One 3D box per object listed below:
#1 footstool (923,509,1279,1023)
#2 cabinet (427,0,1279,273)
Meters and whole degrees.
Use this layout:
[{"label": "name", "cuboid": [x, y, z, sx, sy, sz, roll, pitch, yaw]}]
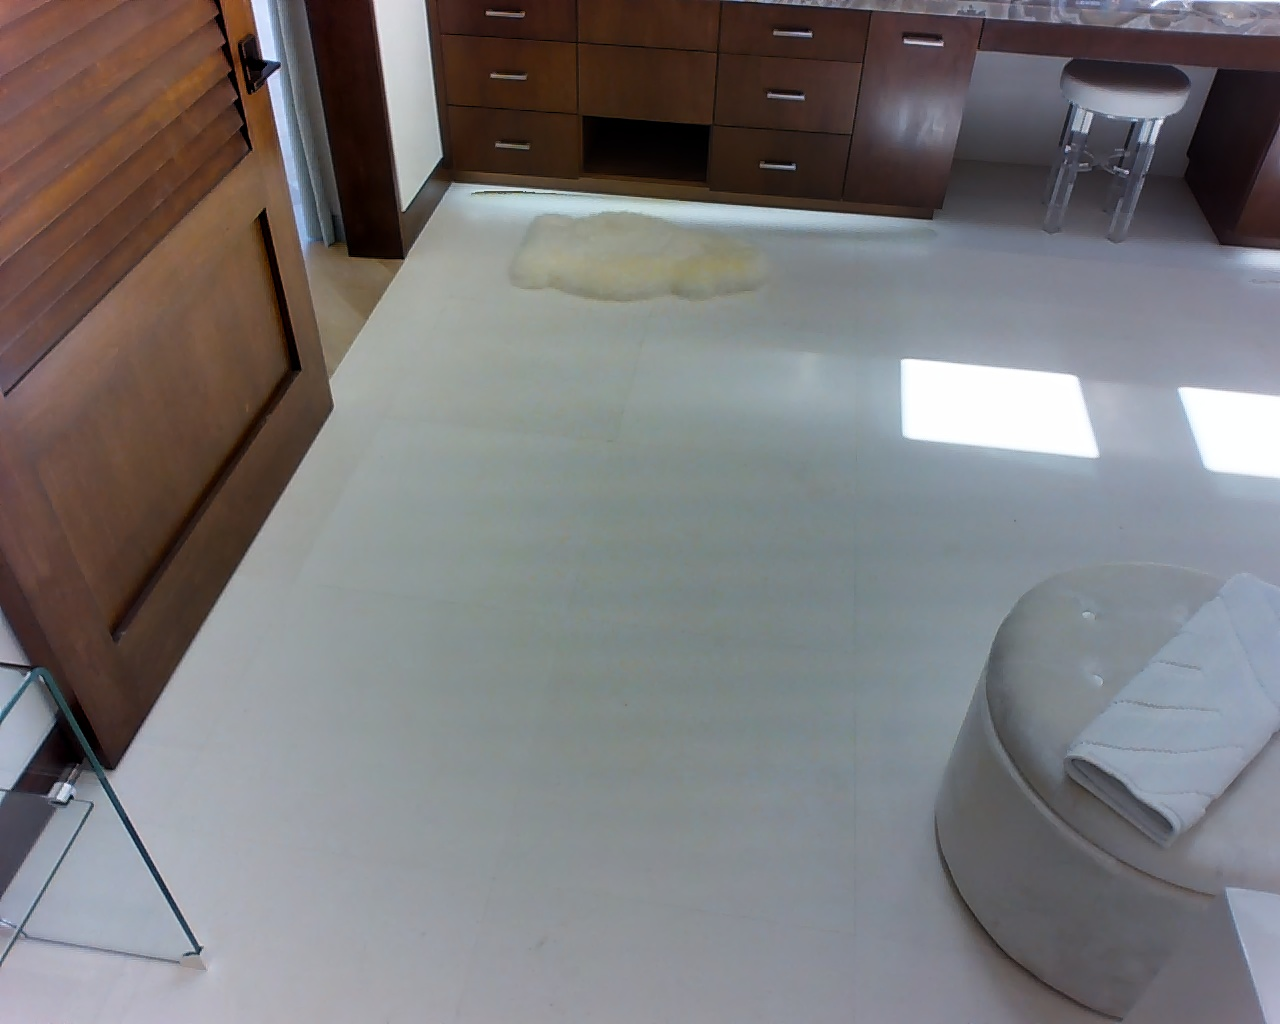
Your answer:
[{"label": "footstool", "cuboid": [0.840, 0.420, 1.730, 0.630, 0.470, 0.660, 6, 42, 6]}, {"label": "cabinet", "cuboid": [1.520, -1.370, 3.460, 4.280, 0.850, 0.690, 6, 42, 5]}]
